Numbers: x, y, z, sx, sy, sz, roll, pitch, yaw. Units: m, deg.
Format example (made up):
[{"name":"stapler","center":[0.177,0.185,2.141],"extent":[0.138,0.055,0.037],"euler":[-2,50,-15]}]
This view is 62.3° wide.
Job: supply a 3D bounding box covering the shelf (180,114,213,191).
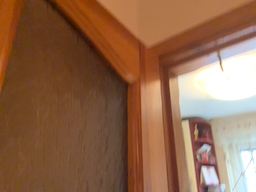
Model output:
[{"name":"shelf","center":[0.750,0.690,2.320],"extent":[0.150,0.930,0.290],"euler":[-18,-29,34]}]
